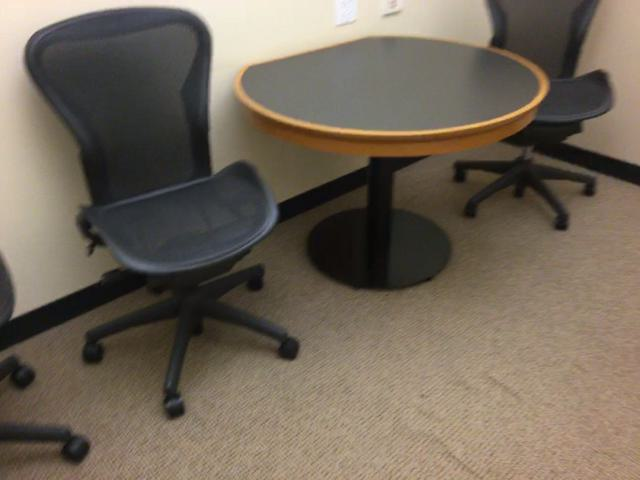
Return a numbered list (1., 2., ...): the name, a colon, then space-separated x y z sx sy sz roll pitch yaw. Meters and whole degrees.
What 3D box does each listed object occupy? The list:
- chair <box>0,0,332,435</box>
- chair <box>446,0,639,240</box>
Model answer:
1. chair: -0.450 -0.120 1.760 0.660 1.010 0.660 -23 38 -27
2. chair: 1.010 -0.660 2.450 0.760 1.030 0.780 -2 33 3
